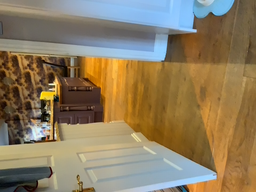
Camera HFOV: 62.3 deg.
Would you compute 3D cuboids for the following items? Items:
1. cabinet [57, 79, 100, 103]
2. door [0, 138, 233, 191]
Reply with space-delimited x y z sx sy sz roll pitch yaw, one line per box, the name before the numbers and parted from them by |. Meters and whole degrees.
cabinet | -1.090 -0.130 4.490 1.160 0.720 0.410 -165 76 -67
door | -0.490 0.470 1.380 0.990 2.050 0.090 172 96 -68
